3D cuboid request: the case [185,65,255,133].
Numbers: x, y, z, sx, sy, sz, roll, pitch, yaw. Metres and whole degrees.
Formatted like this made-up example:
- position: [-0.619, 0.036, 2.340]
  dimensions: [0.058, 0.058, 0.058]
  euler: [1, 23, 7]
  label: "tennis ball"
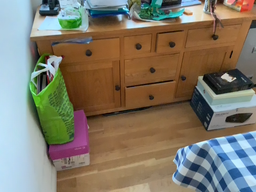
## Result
- position: [0.760, 0.020, 1.690]
  dimensions: [0.430, 0.350, 0.330]
  euler: [-9, 42, -11]
  label: "case"
